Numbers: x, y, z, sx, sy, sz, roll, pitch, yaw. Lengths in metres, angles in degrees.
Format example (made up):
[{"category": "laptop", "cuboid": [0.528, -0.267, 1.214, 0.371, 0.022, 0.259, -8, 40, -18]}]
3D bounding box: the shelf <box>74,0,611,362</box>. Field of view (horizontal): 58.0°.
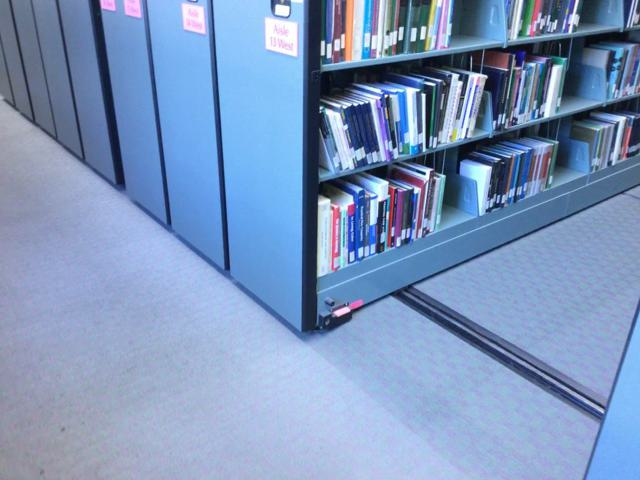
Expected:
[{"category": "shelf", "cuboid": [0.010, -0.890, 2.780, 1.680, 1.770, 1.870, -16, 29, -36]}]
